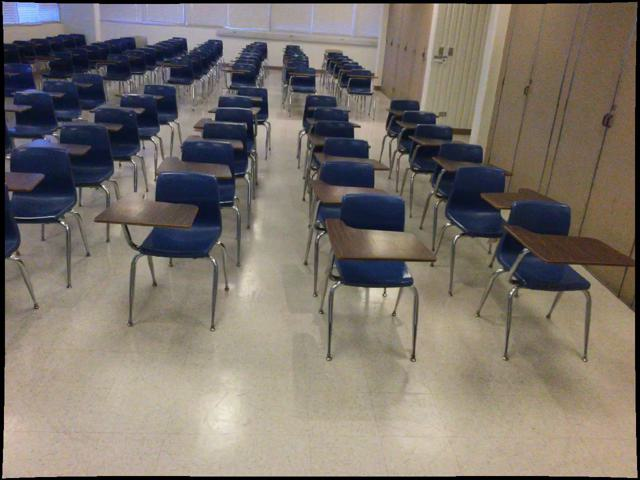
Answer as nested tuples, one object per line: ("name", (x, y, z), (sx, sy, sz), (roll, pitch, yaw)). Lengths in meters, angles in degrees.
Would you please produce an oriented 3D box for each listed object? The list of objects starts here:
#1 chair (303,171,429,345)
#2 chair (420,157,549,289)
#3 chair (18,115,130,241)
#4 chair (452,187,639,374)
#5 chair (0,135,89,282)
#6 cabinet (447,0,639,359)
("chair", (0.209, 0.070, 3.310), (0.509, 0.692, 0.850), (2, 23, -7))
("chair", (1.087, -0.140, 3.980), (0.509, 0.661, 0.760), (2, 23, -7))
("chair", (-1.785, -0.491, 4.310), (0.499, 0.692, 0.890), (2, 23, -7))
("chair", (1.227, 0.180, 3.250), (0.569, 0.661, 0.990), (2, 23, -7))
("chair", (-1.785, -0.221, 3.570), (0.449, 0.681, 0.740), (2, 23, -7))
("cabinet", (2.134, -0.983, 4.140), (0.718, 2.455, 4.402), (2, 23, -7))
